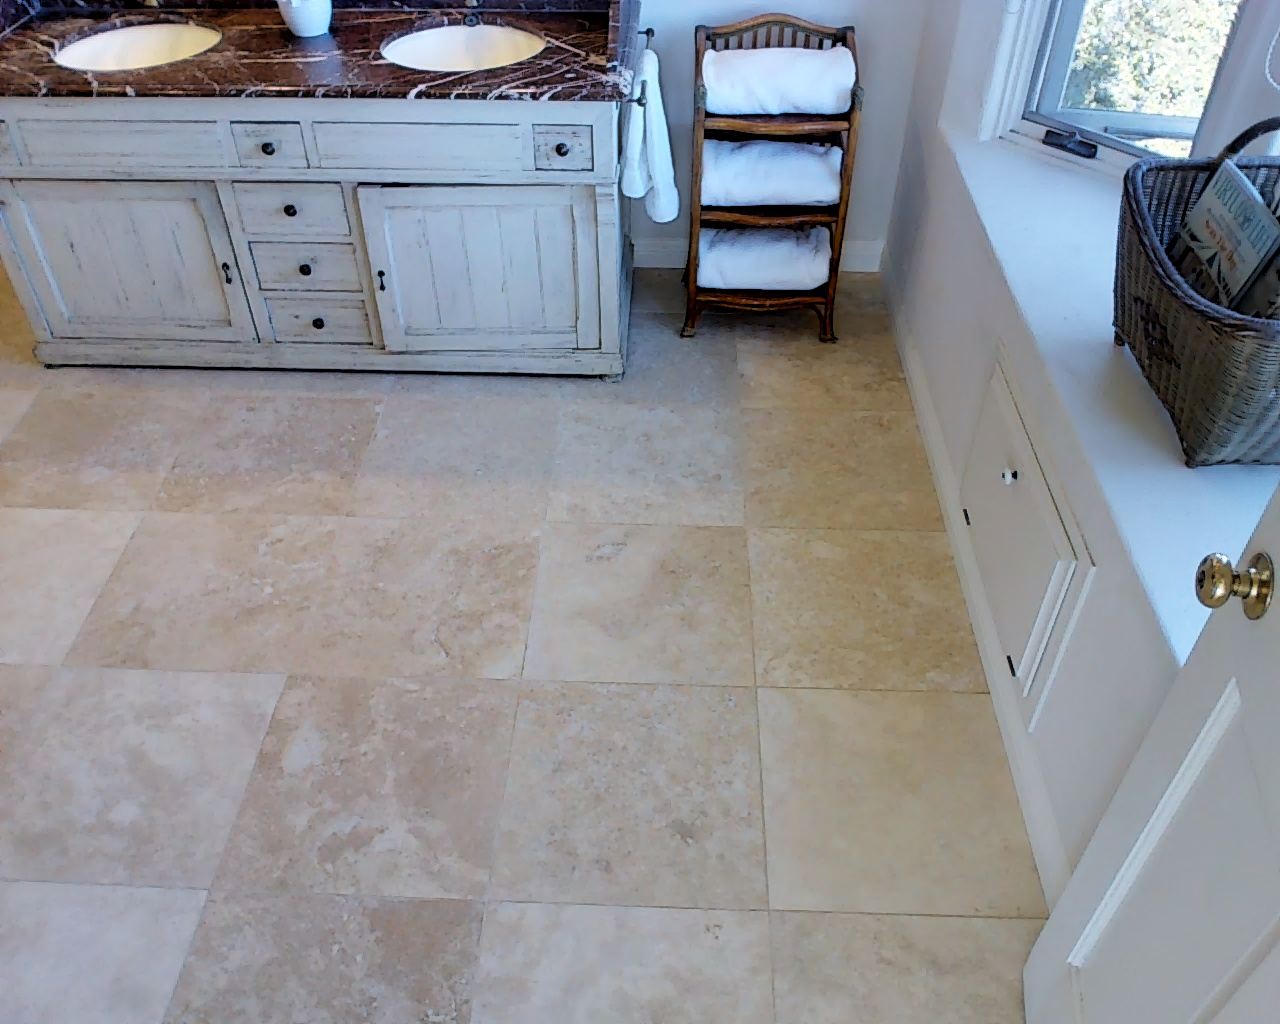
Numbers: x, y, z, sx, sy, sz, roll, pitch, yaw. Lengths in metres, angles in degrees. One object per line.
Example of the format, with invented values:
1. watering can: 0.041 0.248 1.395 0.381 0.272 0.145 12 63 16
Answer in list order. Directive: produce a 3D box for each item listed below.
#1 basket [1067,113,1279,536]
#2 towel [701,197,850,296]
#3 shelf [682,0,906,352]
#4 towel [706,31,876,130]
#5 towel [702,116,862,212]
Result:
1. basket: 0.890 -0.320 1.680 0.180 0.340 0.680 1 42 2
2. towel: 0.370 -0.750 3.020 0.380 0.130 0.330 0 42 1
3. shelf: 0.370 -0.900 2.910 0.490 0.790 0.480 0 42 1
4. towel: 0.370 -1.090 2.710 0.390 0.150 0.260 0 42 1
5. towel: 0.360 -0.910 2.810 0.390 0.160 0.220 1 42 2
